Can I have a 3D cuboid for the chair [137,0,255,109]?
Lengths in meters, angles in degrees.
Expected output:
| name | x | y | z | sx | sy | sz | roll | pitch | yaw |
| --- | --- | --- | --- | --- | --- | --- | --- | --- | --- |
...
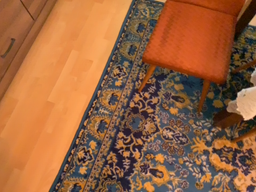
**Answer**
| name | x | y | z | sx | sy | sz | roll | pitch | yaw |
| --- | --- | --- | --- | --- | --- | --- | --- | --- | --- |
| chair | 0.370 | -0.400 | 1.170 | 0.440 | 0.790 | 0.630 | 20 | 72 | 9 |
